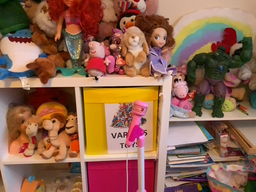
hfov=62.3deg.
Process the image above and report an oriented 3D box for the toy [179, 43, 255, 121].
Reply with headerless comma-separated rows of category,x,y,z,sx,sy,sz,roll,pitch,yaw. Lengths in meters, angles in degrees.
toy,0.520,-0.080,1.190,0.400,0.410,0.140,-1,20,-4
